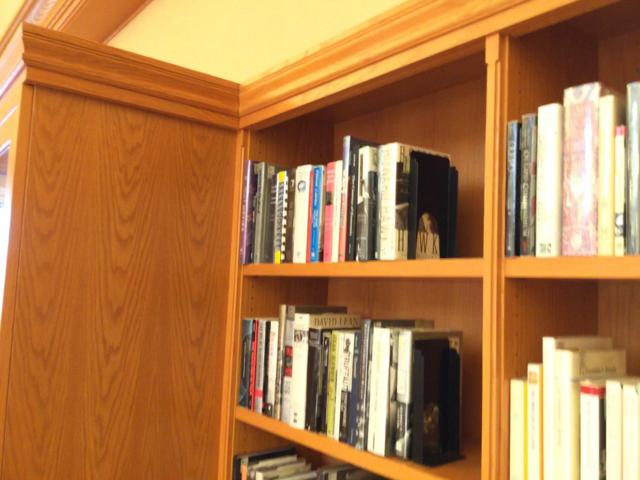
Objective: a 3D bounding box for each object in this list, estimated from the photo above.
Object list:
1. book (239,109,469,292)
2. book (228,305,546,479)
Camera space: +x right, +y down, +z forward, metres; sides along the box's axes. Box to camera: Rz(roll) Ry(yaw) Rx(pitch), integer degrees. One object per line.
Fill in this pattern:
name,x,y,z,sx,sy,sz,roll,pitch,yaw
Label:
book,0.050,-0.060,1.350,0.180,0.330,0.570,10,-9,-37
book,0.090,0.330,1.280,0.210,0.320,0.750,10,-9,-37
